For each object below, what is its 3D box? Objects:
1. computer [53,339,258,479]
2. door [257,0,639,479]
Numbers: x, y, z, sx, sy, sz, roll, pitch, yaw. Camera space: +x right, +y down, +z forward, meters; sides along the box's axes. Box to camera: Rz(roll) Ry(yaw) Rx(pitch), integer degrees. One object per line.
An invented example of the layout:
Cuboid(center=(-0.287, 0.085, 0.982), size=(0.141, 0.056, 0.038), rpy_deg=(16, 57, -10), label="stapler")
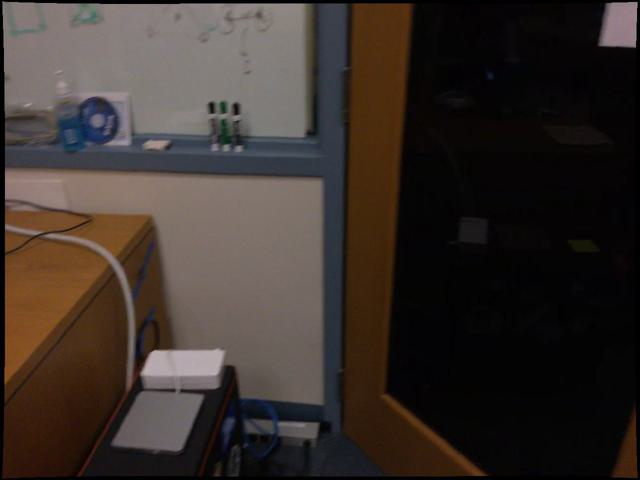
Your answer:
Cuboid(center=(-0.339, 0.612, 1.300), size=(0.269, 0.541, 0.520), rpy_deg=(3, 31, 6), label="computer")
Cuboid(center=(0.349, 0.180, 1.220), size=(0.300, 1.353, 1.059), rpy_deg=(-26, 39, -36), label="door")
